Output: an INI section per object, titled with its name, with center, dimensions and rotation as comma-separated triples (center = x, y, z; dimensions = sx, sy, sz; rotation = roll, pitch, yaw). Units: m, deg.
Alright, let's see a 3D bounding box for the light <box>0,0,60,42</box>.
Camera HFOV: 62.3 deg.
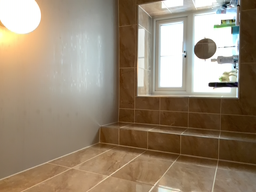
[light]
center = -0.510, -0.400, 0.990
dimensions = 0.210, 0.250, 0.180
rotation = 51, -133, -54
